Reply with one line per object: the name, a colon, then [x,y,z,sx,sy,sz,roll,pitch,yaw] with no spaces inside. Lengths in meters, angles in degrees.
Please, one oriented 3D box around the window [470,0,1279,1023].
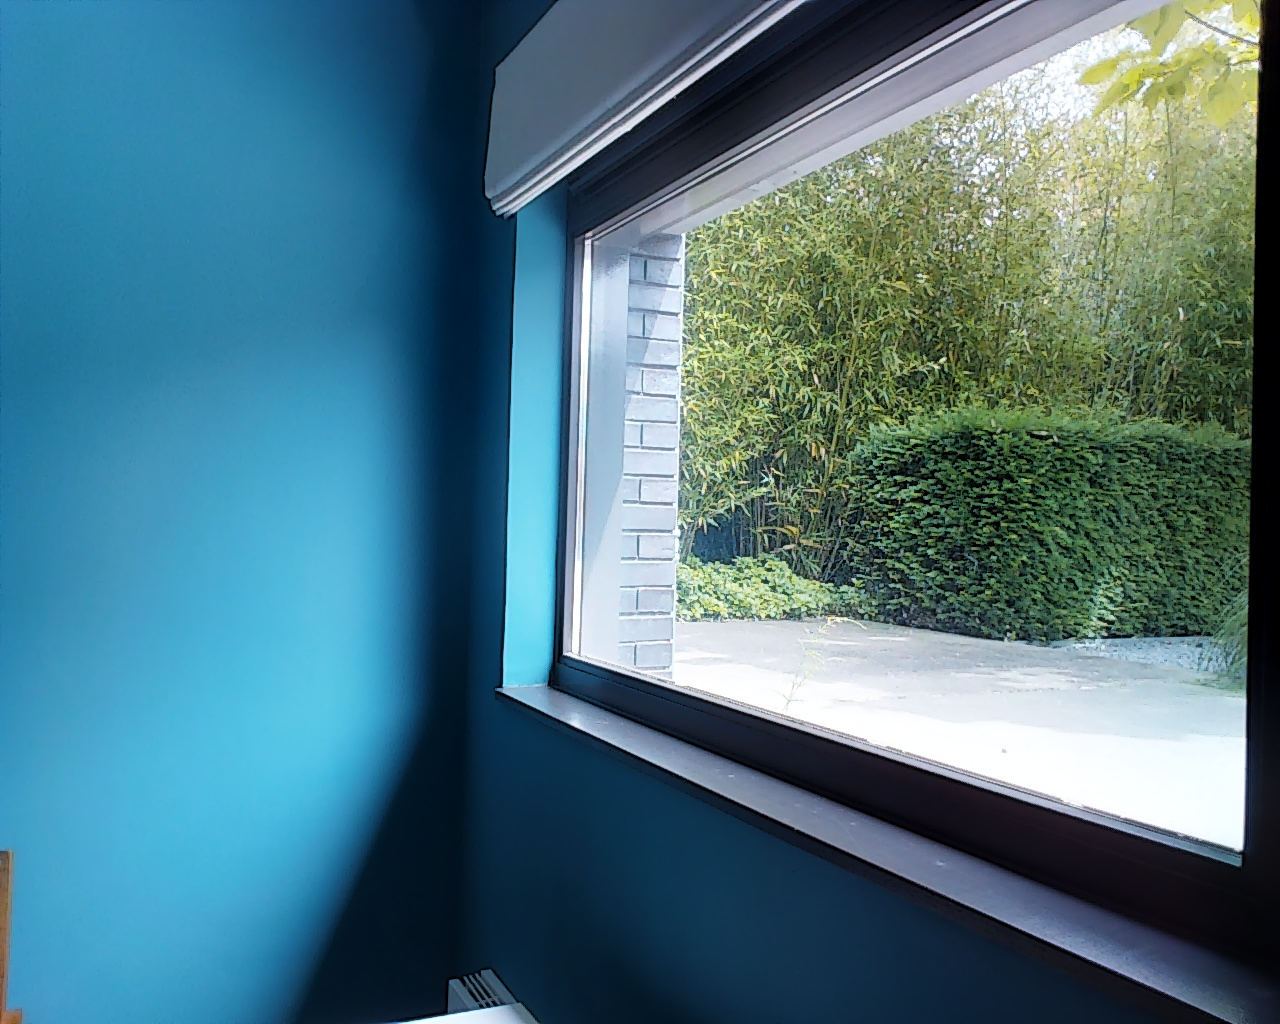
window: [0.390,-0.260,1.100,0.310,1.360,2.590,2,-1,-26]
